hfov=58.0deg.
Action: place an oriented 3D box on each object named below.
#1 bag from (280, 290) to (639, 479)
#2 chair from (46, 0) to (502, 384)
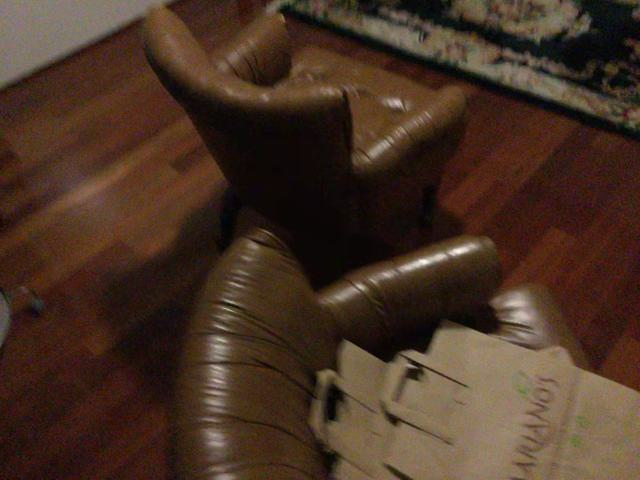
[{"bbox_3d":[0.240,0.320,0.850,0.530,0.170,0.380,9,51,13],"label":"bag"},{"bbox_3d":[-0.070,-0.250,1.500,0.680,0.810,0.670,34,60,29],"label":"chair"}]
